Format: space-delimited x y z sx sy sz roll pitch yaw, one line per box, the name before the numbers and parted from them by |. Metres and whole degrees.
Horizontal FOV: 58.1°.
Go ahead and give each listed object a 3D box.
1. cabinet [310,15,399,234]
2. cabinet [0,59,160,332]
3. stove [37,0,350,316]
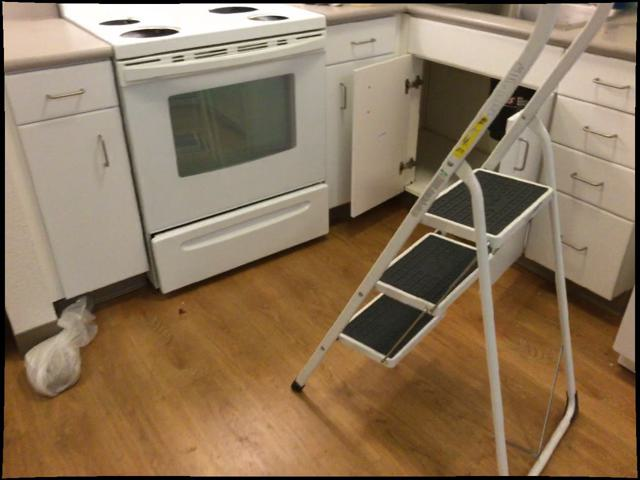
cabinet | 0.150 -0.471 2.460 0.369 0.862 0.090 -23 38 -29
cabinet | -0.798 -0.120 1.930 0.350 0.882 0.090 -23 38 -29
stove | -0.459 -0.541 2.300 0.889 1.232 0.740 -22 38 -29
